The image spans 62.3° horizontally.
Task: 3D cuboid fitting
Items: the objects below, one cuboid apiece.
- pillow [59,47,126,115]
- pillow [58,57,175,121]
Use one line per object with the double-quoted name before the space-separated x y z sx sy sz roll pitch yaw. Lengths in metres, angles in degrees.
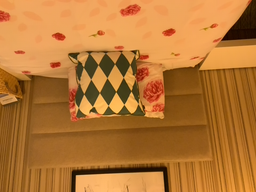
"pillow" -0.200 -0.080 1.330 0.360 0.360 0.270 -1 168 0
"pillow" -0.080 -0.040 1.560 0.760 0.380 0.280 -2 165 -1
